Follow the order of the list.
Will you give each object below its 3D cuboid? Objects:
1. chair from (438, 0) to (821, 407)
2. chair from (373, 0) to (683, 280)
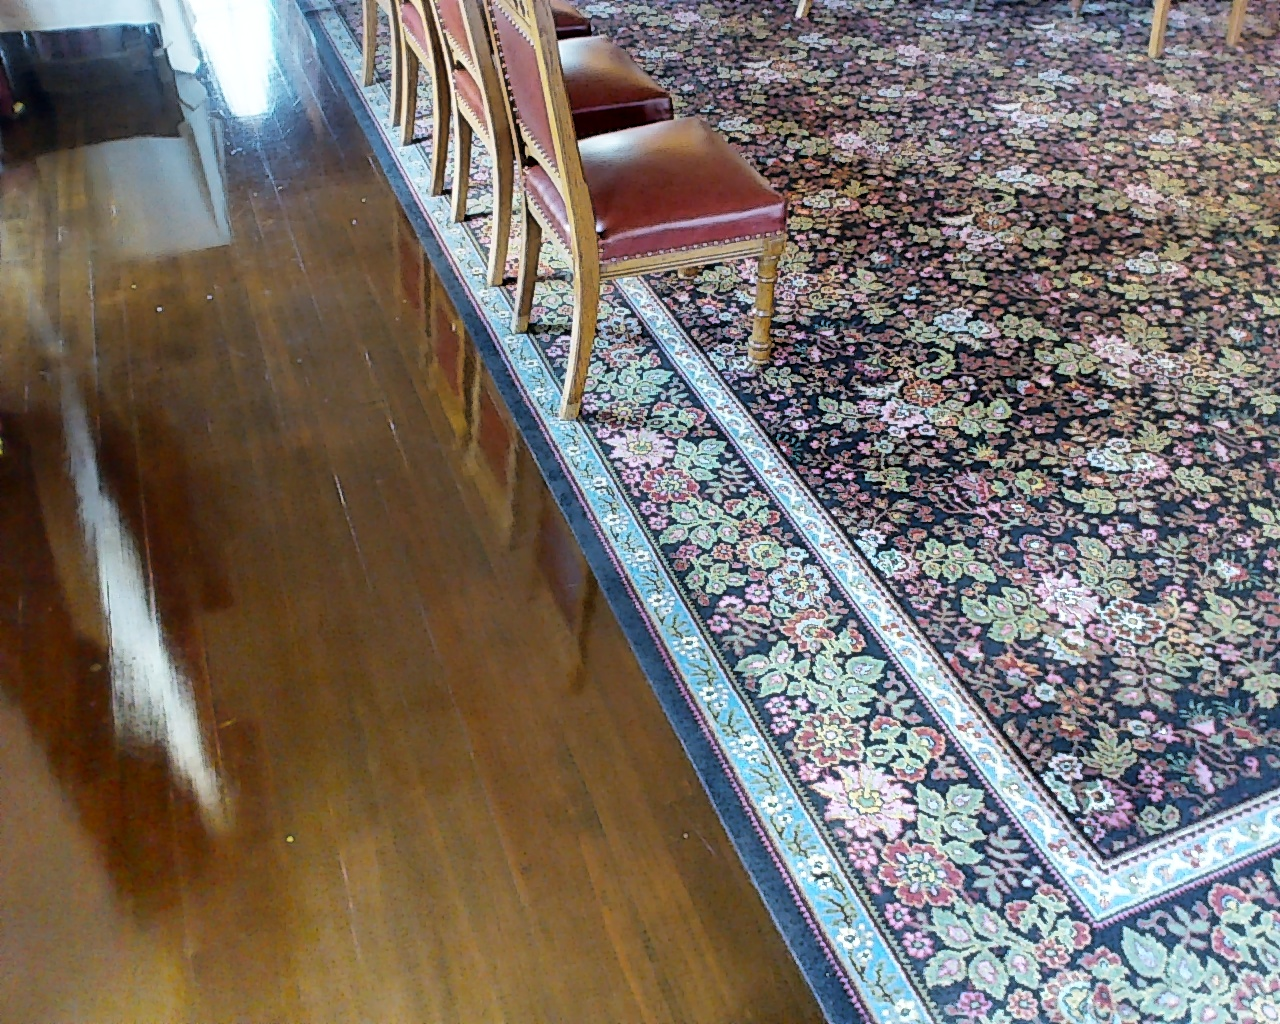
[{"bbox_3d":[-0.050,-0.860,2.460,0.640,0.970,0.570,-15,45,-17],"label":"chair"},{"bbox_3d":[-0.320,-1.270,2.910,0.660,0.970,0.630,-15,45,-17],"label":"chair"}]
